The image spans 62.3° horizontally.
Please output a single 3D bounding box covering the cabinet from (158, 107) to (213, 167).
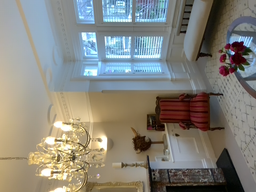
[{"bbox_3d":[1.100,0.790,4.330,1.200,0.790,0.370,-93,3,-46],"label":"cabinet"}]
